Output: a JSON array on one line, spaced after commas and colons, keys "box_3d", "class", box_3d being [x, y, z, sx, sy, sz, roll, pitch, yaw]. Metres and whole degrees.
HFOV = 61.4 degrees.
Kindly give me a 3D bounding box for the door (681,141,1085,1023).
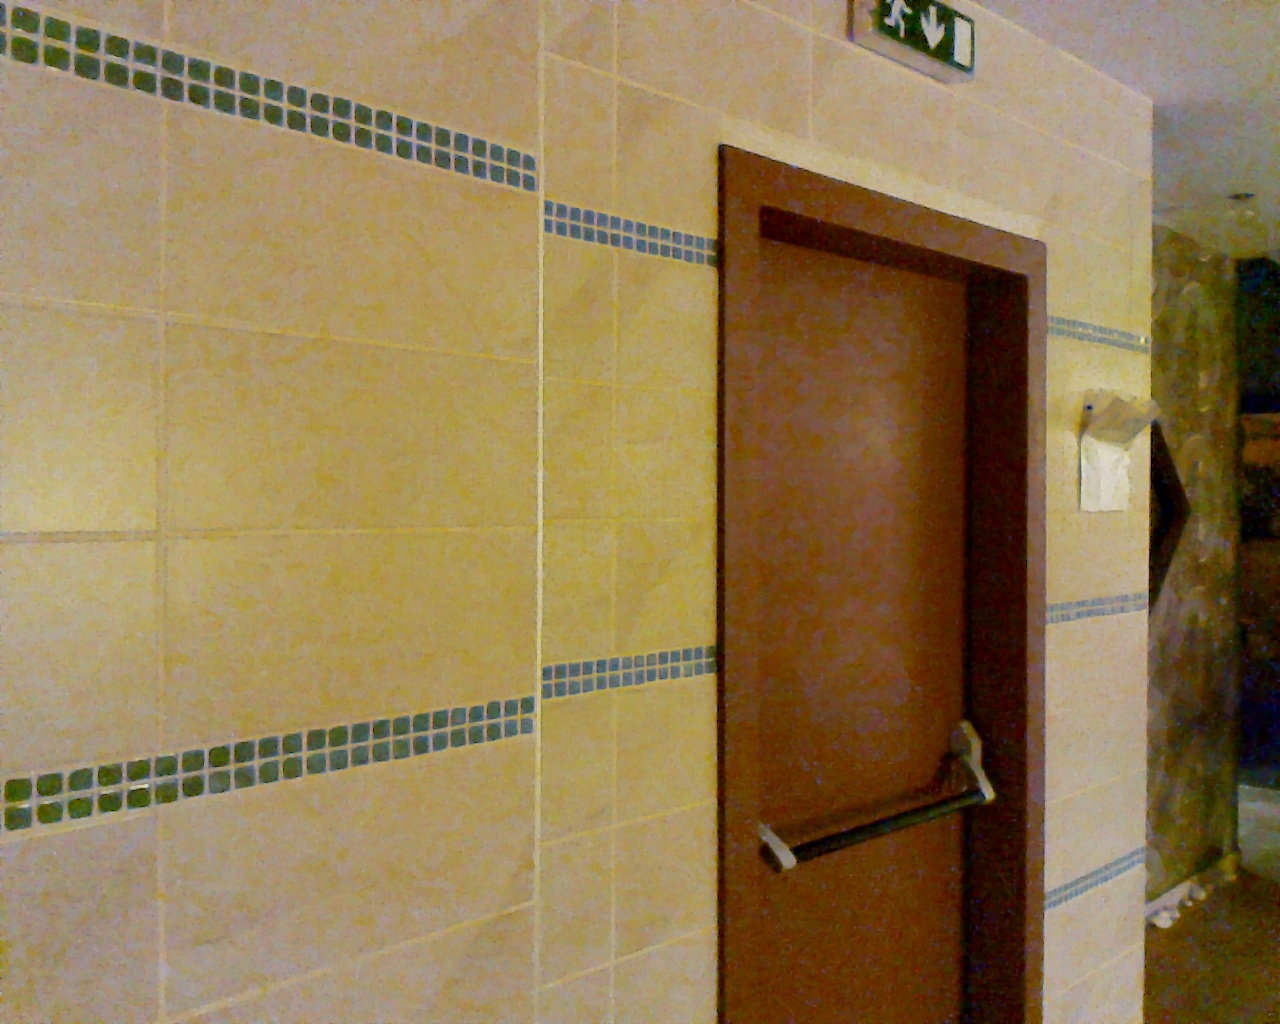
[{"box_3d": [0.540, 0.500, 2.170, 1.070, 2.190, 0.200, 1, 0, -42], "class": "door"}]
